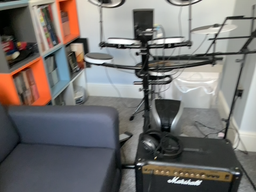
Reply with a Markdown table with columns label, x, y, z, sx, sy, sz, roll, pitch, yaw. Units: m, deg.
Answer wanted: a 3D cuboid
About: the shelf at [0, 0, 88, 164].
| label | x | y | z | sx | sy | sz | roll | pitch | yaw |
| --- | --- | --- | --- | --- | --- | --- | --- | --- | --- |
| shelf | -0.730 | -0.390 | 1.700 | 0.300 | 1.390 | 1.100 | 3 | 28 | 9 |
